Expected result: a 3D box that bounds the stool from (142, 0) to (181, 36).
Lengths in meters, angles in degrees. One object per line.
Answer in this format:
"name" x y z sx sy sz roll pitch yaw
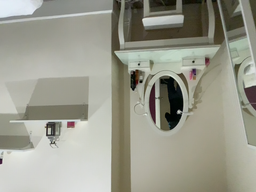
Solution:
"stool" 0.330 -0.910 2.140 0.360 0.530 0.170 -1 174 9
